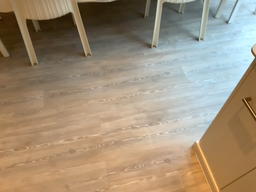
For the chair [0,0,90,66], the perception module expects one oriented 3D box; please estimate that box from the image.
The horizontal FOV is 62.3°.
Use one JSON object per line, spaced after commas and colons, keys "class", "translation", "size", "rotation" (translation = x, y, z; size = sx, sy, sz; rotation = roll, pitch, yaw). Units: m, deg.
{"class": "chair", "translation": [-0.680, -0.760, 1.830], "size": [0.540, 0.770, 0.530], "rotation": [-10, 56, -8]}
